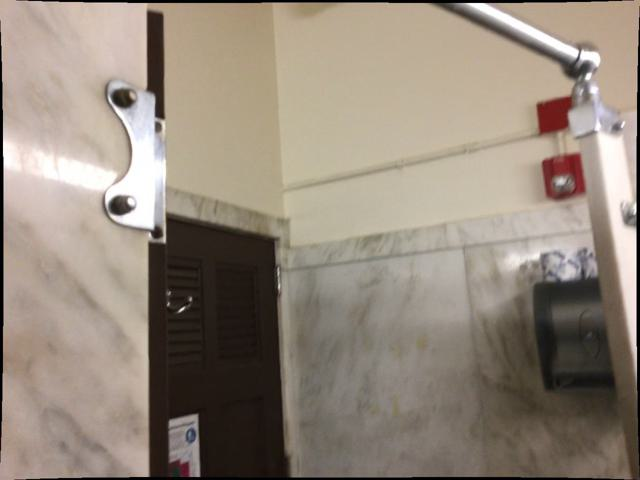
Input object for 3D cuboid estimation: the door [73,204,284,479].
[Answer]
[{"bbox_3d":[-0.390,0.911,1.890,0.080,1.962,0.890,-10,-10,28],"label":"door"}]
